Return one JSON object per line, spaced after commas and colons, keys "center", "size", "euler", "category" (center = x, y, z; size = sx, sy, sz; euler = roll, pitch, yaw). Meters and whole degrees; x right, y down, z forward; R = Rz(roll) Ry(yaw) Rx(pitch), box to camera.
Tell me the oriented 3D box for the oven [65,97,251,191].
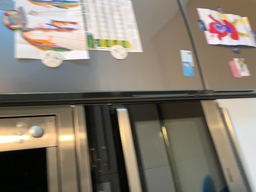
{"center": [0.060, 0.410, 0.960], "size": [0.640, 0.570, 0.600], "euler": [133, 132, -59], "category": "oven"}
